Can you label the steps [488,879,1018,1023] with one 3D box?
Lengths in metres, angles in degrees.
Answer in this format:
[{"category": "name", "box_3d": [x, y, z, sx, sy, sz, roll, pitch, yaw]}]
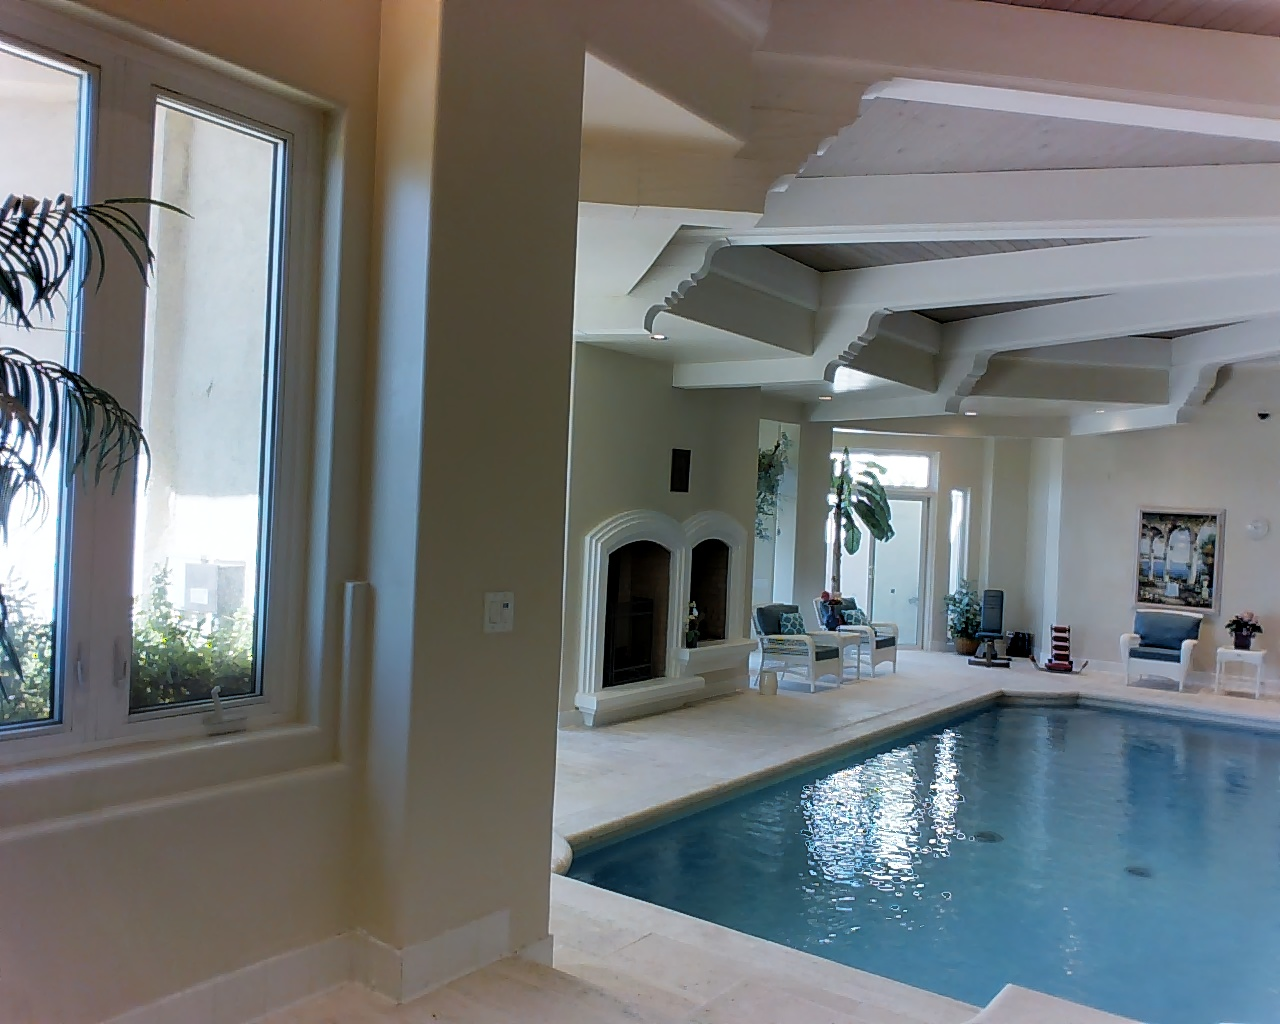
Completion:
[{"category": "steps", "box_3d": [0.310, 1.560, 3.290, 1.450, 0.340, 0.700, 3, 0, 36]}]
